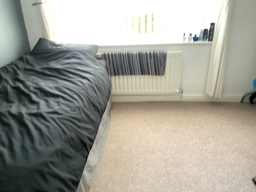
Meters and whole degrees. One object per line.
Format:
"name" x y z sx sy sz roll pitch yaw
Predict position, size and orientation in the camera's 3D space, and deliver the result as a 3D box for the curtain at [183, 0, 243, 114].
"curtain" 0.920 -0.800 2.250 0.440 2.170 0.160 1 25 5
